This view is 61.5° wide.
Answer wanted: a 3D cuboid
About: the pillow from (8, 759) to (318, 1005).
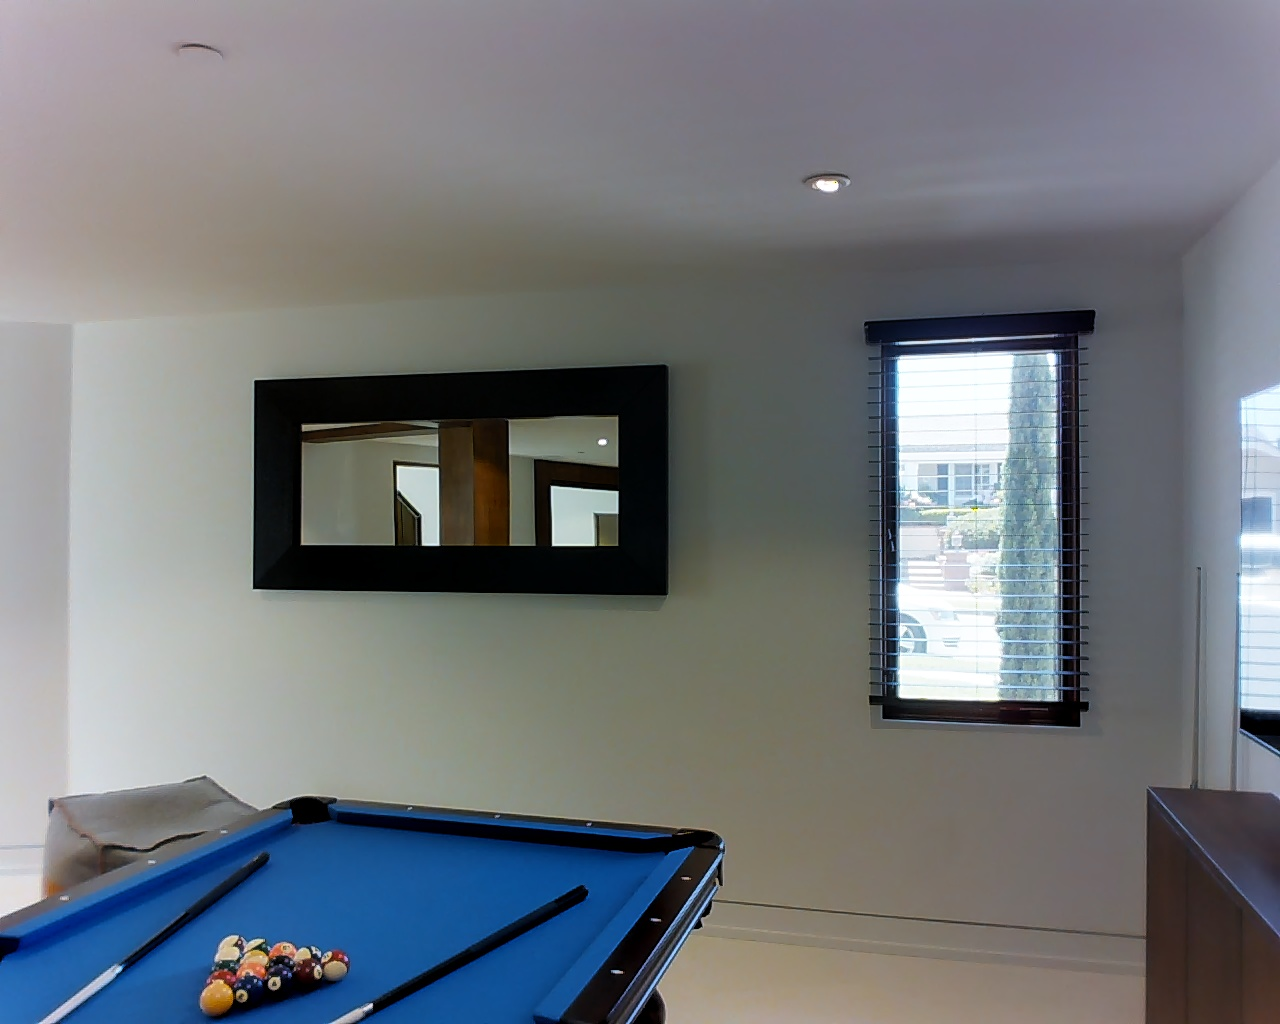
[{"bbox_3d":[-1.880,1.390,4.240,0.870,0.560,0.860,1,-1,-44],"label":"pillow"}]
